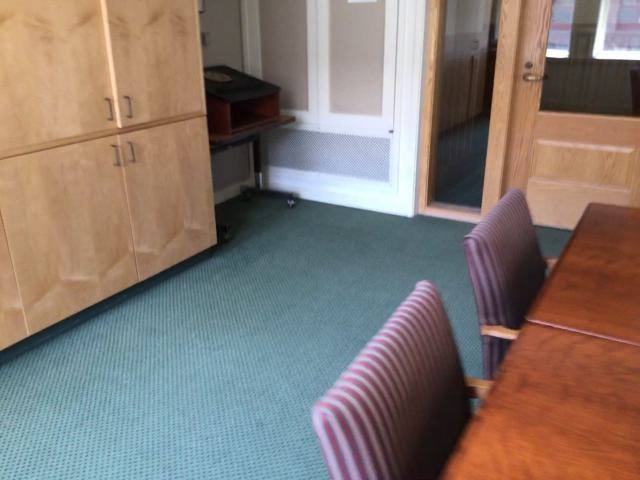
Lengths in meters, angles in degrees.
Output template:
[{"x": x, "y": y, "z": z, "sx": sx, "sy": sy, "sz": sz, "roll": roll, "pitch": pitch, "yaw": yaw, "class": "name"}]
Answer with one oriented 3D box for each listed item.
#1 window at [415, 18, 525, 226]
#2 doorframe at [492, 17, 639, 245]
[{"x": 0.910, "y": -0.730, "z": 3.600, "sx": 0.520, "sy": 1.210, "sz": 0.210, "roll": 11, "pitch": 23, "yaw": 27, "class": "window"}, {"x": 1.490, "y": -0.620, "z": 3.270, "sx": 0.870, "sy": 1.190, "sz": 0.140, "roll": 11, "pitch": 23, "yaw": 27, "class": "doorframe"}]
